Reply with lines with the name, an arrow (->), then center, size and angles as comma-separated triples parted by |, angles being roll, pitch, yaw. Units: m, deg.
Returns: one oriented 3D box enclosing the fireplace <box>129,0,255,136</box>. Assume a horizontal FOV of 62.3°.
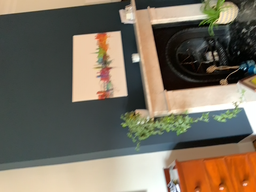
fireplace -> 0.670, -0.550, 2.210 | 0.880, 1.140, 1.590 | 87, 176, -62
